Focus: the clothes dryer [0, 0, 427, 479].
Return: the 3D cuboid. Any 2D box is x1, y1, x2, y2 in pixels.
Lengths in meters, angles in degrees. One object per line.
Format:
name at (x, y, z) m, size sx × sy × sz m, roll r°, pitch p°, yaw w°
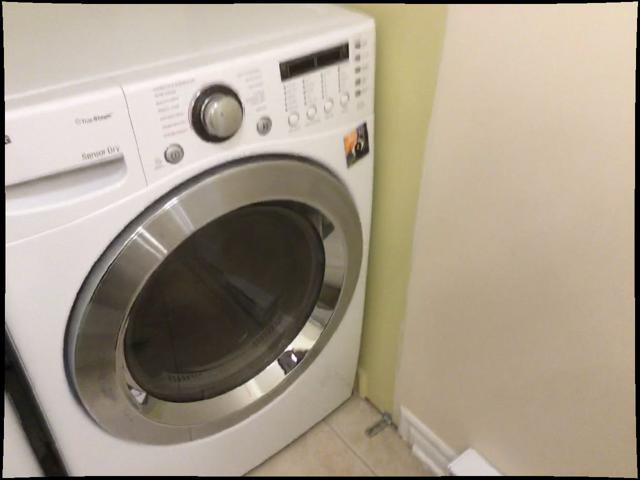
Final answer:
clothes dryer at (-0.400, -0.040, 1.320) m, size 0.750 × 0.971 × 0.870 m, roll -25°, pitch 45°, yaw -31°
